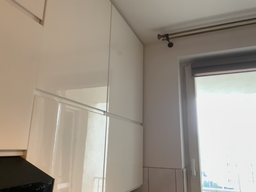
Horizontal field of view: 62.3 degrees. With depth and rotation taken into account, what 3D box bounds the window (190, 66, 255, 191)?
[{"bbox_3d":[0.830,0.460,1.530,0.660,1.350,0.150,-4,-14,22],"label":"window"}]
